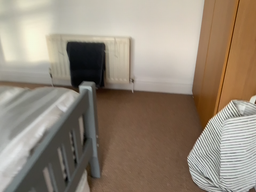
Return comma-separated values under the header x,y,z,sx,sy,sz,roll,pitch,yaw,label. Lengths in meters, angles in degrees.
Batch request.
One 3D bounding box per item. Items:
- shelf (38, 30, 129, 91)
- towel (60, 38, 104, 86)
x,y,z,sx,sy,sz,roll,pitch,yaw,label
-0.490,-0.410,2.460,0.990,0.610,0.140,5,27,8,shelf
-0.490,-0.370,2.330,0.420,0.480,0.130,6,27,8,towel
